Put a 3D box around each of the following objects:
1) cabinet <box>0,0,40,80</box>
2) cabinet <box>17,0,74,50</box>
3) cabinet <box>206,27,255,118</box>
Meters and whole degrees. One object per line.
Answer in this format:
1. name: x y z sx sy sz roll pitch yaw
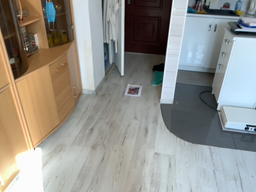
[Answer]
1. cabinet: -0.960 -0.620 1.480 0.360 0.930 0.340 7 31 9
2. cabinet: -0.820 -0.970 2.070 0.360 0.930 0.340 7 31 9
3. cabinet: 1.290 -0.270 2.400 0.560 0.860 0.480 8 32 10
